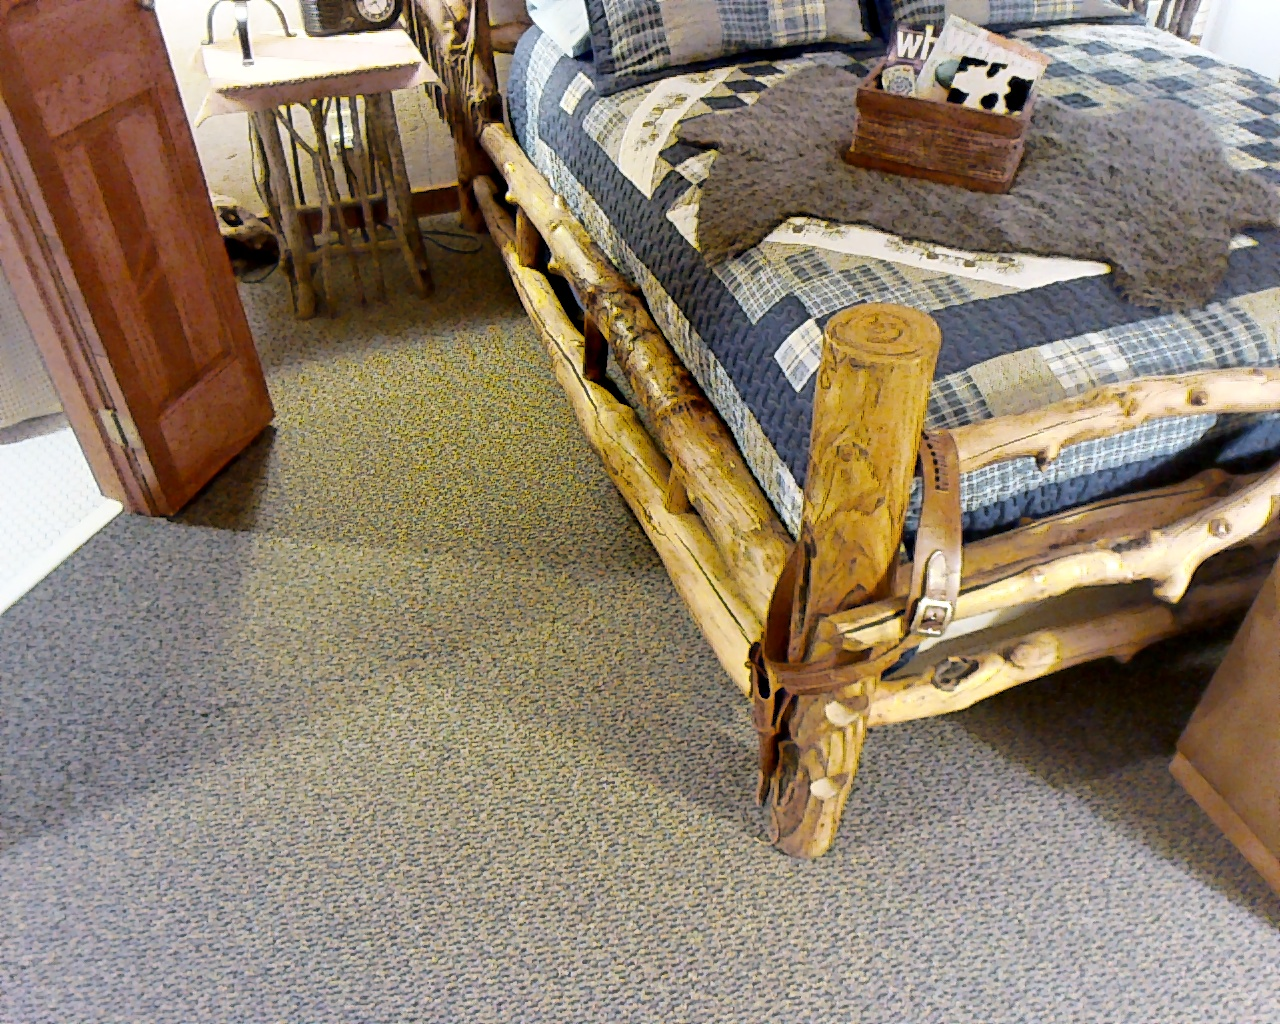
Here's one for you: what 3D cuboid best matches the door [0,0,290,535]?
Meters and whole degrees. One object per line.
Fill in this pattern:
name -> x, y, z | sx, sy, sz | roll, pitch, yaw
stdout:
door -> -0.960, -0.870, 1.740 | 0.080, 2.110, 0.420 | 17, 45, 17

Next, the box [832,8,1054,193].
box -> 0.560, -0.770, 2.000 | 0.320, 0.200, 0.260 | 17, 45, 17

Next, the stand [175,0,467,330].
stand -> -0.860, -0.960, 2.950 | 0.590, 0.630, 0.530 | -14, 44, -15
